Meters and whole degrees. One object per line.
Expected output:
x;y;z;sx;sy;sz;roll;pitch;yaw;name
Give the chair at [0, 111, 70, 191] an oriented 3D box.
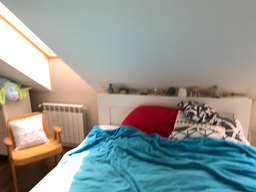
-1.140;0.660;2.550;0.580;0.720;0.650;-13;19;-36;chair
